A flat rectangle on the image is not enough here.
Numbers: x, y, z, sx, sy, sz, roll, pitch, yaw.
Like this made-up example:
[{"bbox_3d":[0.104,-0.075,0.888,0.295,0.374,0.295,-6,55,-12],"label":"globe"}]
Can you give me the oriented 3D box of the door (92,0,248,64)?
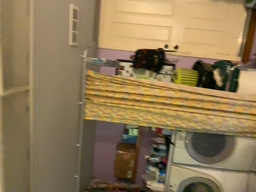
[{"bbox_3d":[0.570,-1.090,3.120,0.070,2.140,0.980,-66,-17,-78],"label":"door"}]
